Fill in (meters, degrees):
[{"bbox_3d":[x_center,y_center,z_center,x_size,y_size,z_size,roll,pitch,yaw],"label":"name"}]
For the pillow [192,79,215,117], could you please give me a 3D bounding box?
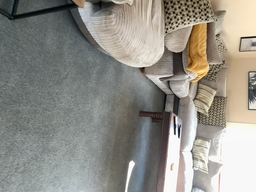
[{"bbox_3d":[1.350,0.030,3.760,0.270,0.320,0.620,60,41,-47],"label":"pillow"}]
